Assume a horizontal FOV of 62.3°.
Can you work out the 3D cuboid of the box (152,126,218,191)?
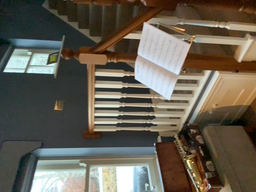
[{"bbox_3d":[0.470,0.600,1.910,0.370,0.350,0.540,101,167,-45],"label":"box"}]
